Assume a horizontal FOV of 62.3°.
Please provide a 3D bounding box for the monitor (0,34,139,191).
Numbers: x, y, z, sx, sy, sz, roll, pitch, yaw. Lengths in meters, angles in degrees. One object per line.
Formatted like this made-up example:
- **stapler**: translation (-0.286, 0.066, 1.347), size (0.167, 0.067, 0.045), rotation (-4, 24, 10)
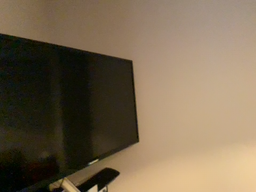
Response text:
- **monitor**: translation (-0.210, 0.060, 1.060), size (0.050, 0.560, 0.950), rotation (-5, 0, 30)
